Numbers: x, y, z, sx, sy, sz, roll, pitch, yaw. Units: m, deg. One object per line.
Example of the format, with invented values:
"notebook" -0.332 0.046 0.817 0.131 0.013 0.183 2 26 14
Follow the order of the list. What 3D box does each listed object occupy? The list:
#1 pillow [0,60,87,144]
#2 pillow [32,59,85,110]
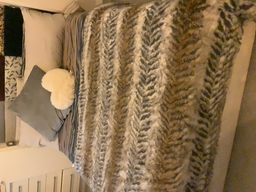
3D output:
"pillow" -0.870 0.100 2.150 0.610 0.580 0.470 -29 56 19
"pillow" -0.620 -0.120 1.960 0.160 0.330 0.390 -19 16 20
